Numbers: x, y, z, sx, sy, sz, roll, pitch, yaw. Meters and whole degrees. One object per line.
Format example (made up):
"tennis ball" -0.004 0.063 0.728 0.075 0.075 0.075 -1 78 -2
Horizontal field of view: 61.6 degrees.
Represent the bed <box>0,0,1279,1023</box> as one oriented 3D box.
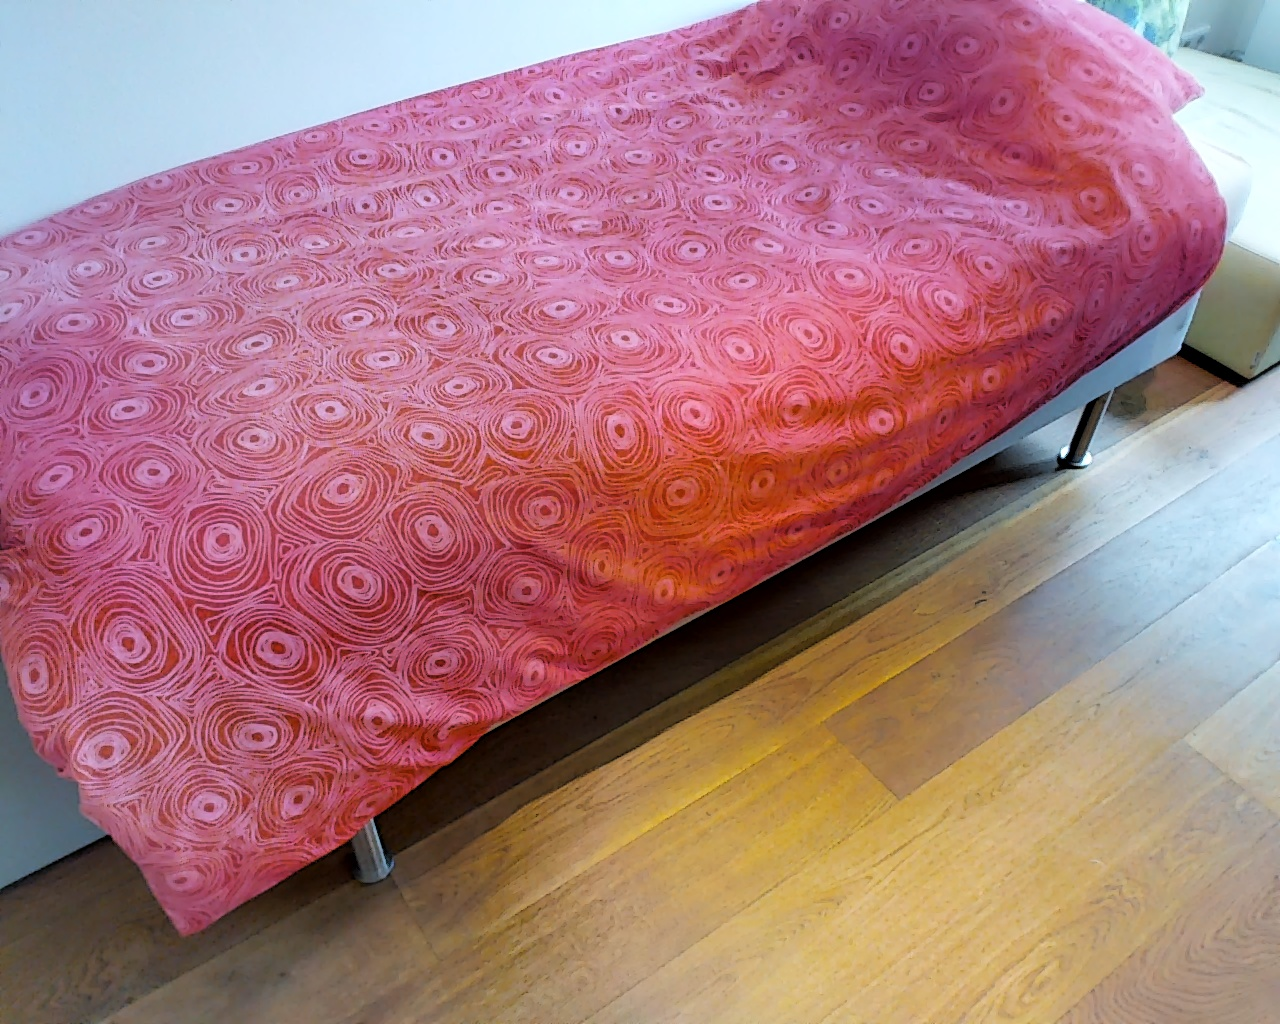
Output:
"bed" 0.050 -0.330 1.770 2.220 0.910 1.100 -26 49 -25
